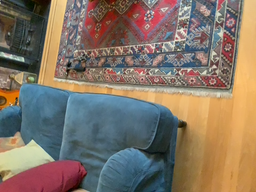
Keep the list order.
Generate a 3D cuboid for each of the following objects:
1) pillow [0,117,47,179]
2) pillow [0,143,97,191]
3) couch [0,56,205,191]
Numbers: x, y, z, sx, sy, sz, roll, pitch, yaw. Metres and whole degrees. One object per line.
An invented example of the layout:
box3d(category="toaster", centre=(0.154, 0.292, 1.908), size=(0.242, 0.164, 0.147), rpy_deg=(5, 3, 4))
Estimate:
box3d(category="pillow", centre=(-0.950, 0.390, 1.600), size=(0.370, 0.470, 0.260), rpy_deg=(7, 111, 40))
box3d(category="pillow", centre=(-0.440, 0.430, 1.130), size=(0.380, 0.390, 0.190), rpy_deg=(7, 98, 41))
box3d(category="couch", centre=(-0.500, 0.380, 1.450), size=(1.600, 0.830, 1.080), rpy_deg=(8, 89, 41))
